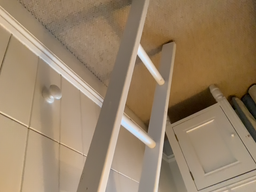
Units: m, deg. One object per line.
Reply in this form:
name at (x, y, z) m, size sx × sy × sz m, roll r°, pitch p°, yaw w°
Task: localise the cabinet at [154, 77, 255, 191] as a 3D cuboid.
cabinet at (0.490, 0.340, 1.150) m, size 0.390 × 0.700 × 0.400 m, roll -28°, pitch 138°, yaw 15°
